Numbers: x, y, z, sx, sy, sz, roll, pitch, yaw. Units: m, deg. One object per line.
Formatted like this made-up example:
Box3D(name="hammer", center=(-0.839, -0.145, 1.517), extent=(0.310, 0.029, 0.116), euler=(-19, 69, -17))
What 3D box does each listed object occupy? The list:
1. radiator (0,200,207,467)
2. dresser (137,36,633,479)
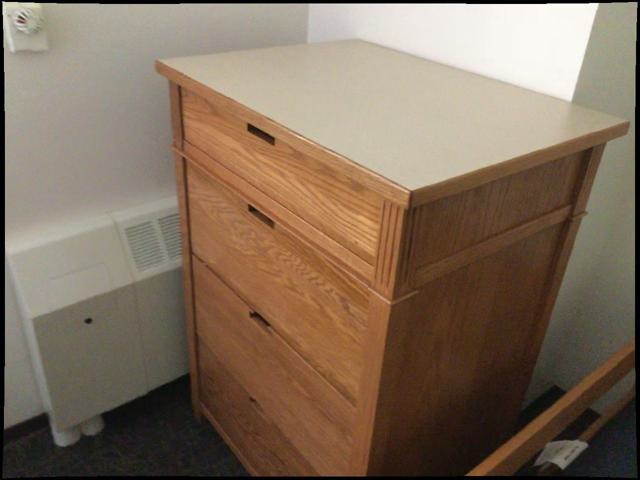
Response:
Box3D(name="radiator", center=(-0.578, 0.261, 1.630), extent=(0.449, 0.641, 0.160), euler=(-20, 36, -33))
Box3D(name="dresser", center=(0.060, 0.160, 1.450), extent=(0.589, 1.102, 0.850), euler=(-20, 36, -33))
